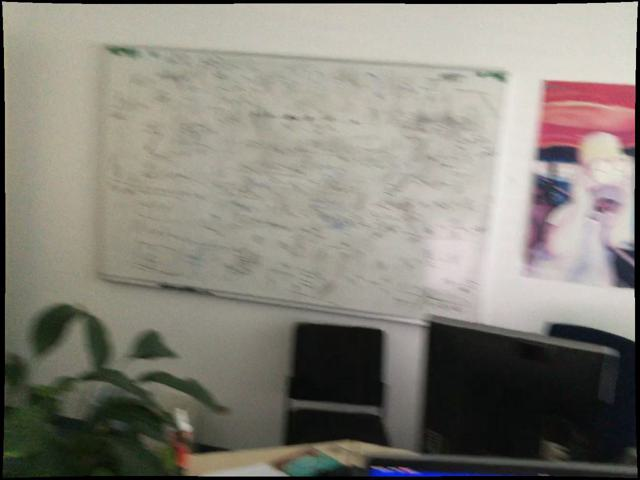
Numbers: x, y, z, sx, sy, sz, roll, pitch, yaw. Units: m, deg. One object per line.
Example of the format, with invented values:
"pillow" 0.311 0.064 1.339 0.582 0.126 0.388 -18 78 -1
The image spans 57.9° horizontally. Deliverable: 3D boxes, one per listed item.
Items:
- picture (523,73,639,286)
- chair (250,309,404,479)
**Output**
"picture" 1.239 -0.260 2.540 0.539 0.881 0.110 6 10 11
"chair" 0.040 0.811 2.520 0.549 0.821 0.620 5 10 5
